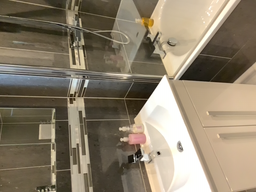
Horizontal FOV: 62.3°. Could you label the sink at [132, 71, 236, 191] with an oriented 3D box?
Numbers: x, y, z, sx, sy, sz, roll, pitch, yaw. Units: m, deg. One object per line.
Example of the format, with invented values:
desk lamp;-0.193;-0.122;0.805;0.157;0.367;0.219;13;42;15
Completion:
sink;0.230;0.260;1.170;0.470;0.130;0.630;120;145;-48
